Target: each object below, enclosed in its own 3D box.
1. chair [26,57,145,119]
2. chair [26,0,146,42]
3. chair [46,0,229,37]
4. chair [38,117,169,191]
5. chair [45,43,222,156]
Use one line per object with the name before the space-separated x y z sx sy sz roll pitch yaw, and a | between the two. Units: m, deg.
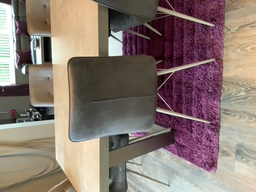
chair | -0.380 -0.120 1.930 0.510 0.920 0.430 18 109 57
chair | -0.360 -0.730 1.850 0.510 0.900 0.410 17 108 57
chair | 0.060 -0.630 1.180 0.510 0.890 0.440 10 102 58
chair | -0.180 0.520 1.680 0.440 0.910 0.530 15 106 57
chair | 0.040 -0.030 1.270 0.510 0.910 0.440 10 102 58
